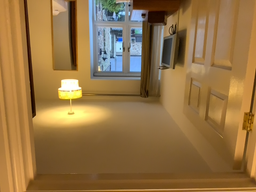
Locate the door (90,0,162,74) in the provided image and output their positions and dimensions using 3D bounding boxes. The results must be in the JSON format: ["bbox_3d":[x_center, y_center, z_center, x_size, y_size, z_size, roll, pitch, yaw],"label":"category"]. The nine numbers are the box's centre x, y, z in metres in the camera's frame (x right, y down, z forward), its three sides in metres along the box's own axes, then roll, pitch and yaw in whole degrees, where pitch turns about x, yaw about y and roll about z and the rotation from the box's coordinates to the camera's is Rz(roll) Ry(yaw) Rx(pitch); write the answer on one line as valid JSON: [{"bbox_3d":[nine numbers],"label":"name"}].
[{"bbox_3d":[-0.040,-1.390,3.920,1.290,1.940,0.120,0,-167,-4],"label":"door"}]
